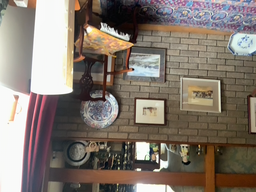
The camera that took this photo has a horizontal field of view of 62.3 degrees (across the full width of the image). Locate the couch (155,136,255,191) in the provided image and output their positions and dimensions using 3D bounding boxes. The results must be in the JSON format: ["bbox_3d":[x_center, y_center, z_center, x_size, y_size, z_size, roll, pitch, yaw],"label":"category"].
[{"bbox_3d":[1.490,1.050,3.040,2.010,0.780,1.100,3,172,-3],"label":"couch"}]

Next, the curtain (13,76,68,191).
[{"bbox_3d":[-0.740,0.620,1.810,0.200,1.490,0.480,3,172,0],"label":"curtain"}]
